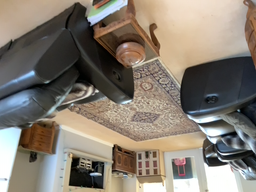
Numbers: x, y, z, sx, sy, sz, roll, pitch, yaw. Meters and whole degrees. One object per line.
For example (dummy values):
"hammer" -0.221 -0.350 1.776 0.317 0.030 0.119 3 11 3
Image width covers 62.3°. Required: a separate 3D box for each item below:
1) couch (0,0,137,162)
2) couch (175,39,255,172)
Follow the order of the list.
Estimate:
"couch" -0.820 -0.060 1.870 1.480 0.980 1.010 -15 150 28
"couch" 1.500 0.350 2.740 0.990 0.950 2.110 -16 151 27
